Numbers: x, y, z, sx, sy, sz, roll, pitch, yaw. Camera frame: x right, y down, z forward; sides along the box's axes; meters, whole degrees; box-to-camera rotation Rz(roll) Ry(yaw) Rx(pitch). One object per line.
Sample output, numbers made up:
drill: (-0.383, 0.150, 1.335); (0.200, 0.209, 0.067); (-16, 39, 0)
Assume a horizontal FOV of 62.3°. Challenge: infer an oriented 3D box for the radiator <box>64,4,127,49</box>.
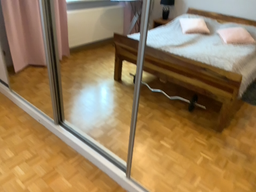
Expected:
radiator: (-0.570, -1.420, 4.190); (0.180, 0.640, 1.500); (25, 36, 29)
